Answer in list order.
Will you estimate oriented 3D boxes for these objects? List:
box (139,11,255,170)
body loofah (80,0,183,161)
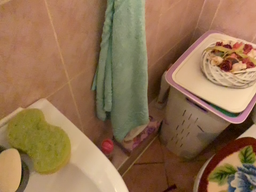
[{"bbox_3d":[0.350,0.030,1.140,0.360,0.750,0.360,37,60,21],"label":"box"},{"bbox_3d":[0.000,-0.030,0.730,0.130,0.800,0.210,35,59,19],"label":"body loofah"}]
